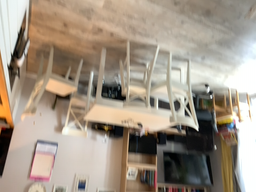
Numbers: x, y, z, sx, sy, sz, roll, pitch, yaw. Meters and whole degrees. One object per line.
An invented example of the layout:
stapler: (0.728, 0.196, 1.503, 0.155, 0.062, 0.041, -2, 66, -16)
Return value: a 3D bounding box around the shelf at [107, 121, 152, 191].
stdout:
shelf: (0.040, 1.120, 3.610, 0.660, 1.260, 0.240, 13, 158, -23)
